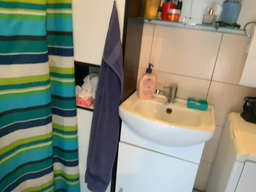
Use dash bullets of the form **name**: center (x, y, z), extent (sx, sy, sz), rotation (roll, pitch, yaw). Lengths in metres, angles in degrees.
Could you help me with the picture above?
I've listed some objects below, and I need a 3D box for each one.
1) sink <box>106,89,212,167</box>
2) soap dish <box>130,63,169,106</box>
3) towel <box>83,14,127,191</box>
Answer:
- **sink**: center (0.180, 0.130, 1.110), extent (0.460, 0.140, 0.370), rotation (13, 22, 17)
- **soap dish**: center (0.120, -0.070, 1.200), extent (0.180, 0.190, 0.100), rotation (13, 22, 16)
- **towel**: center (-0.140, 0.140, 1.110), extent (0.150, 1.050, 0.070), rotation (14, 22, 19)
